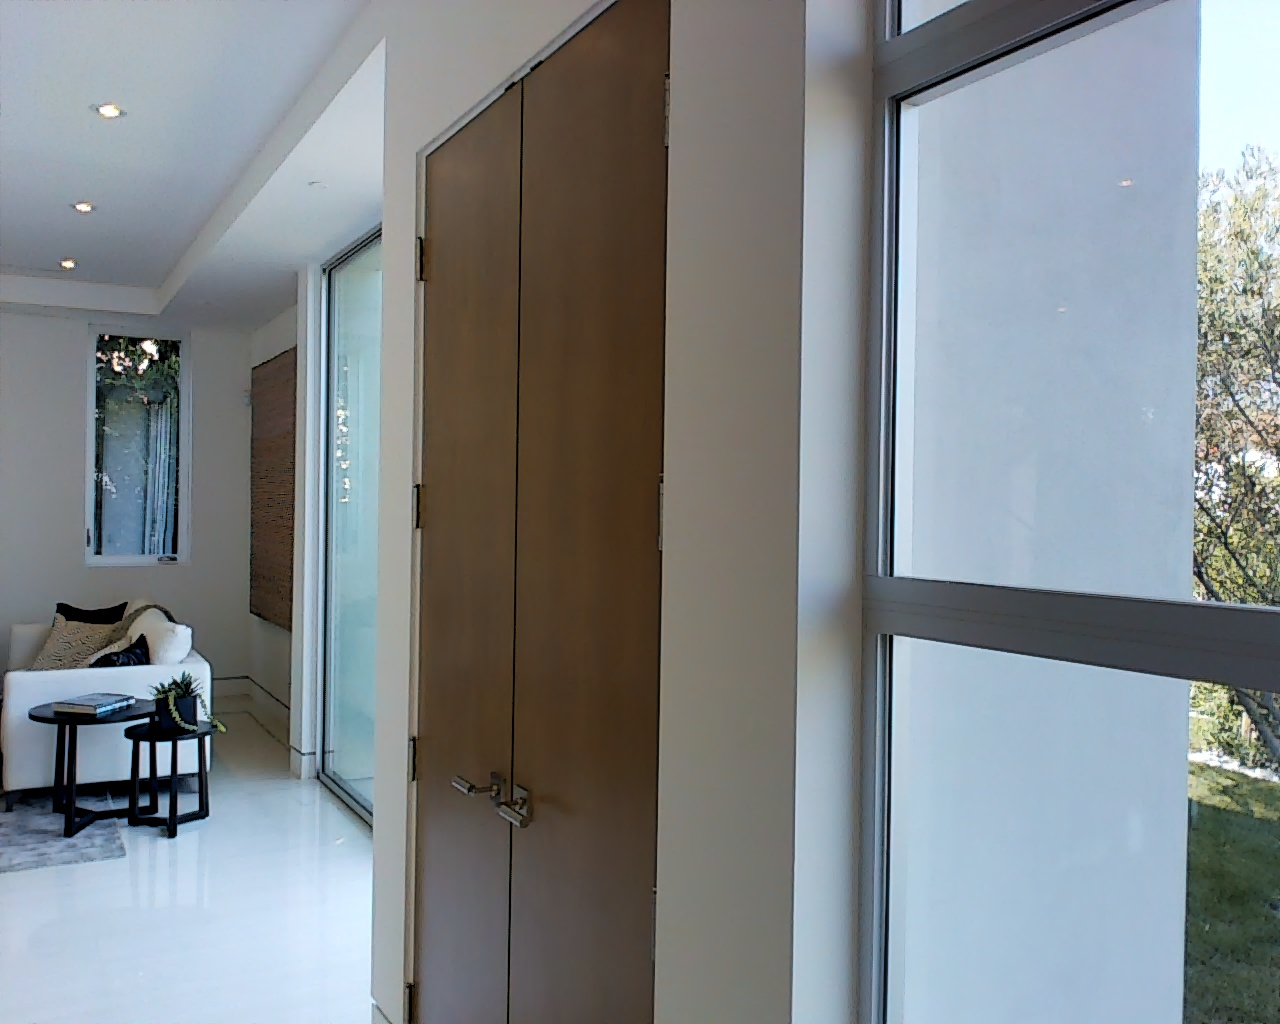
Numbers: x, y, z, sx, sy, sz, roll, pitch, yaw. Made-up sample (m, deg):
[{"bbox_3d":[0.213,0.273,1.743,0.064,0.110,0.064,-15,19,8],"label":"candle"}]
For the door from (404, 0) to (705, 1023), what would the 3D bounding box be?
[{"bbox_3d":[-0.260,0.310,2.260,0.040,2.461,1.300,1,1,-30],"label":"door"}]
